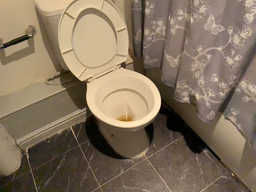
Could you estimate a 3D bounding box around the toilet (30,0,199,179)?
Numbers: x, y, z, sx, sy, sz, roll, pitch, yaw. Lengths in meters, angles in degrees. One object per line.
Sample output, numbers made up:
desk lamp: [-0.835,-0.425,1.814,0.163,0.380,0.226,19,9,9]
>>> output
toilet: [-0.090,-0.110,1.170,0.450,0.790,0.680,-26,49,-19]
